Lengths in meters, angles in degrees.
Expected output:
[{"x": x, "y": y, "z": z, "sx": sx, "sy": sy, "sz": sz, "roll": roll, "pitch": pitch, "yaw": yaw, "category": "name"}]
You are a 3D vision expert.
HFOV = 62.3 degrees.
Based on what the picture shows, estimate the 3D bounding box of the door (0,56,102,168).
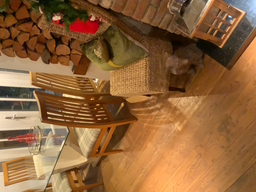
[{"x": -1.510, "y": 0.320, "z": 2.740, "sx": 0.170, "sy": 1.920, "sz": 1.770, "roll": 54, "pitch": 127, "yaw": 37, "category": "door"}]
